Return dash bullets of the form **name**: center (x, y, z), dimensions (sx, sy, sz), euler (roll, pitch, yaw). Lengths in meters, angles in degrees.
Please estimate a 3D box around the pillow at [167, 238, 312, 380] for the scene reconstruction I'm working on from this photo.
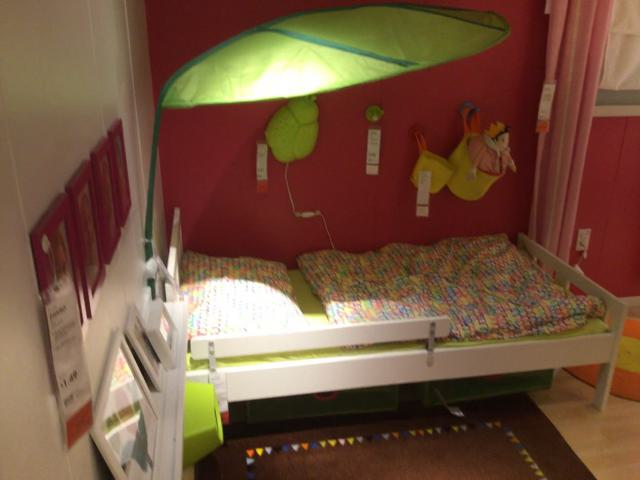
- **pillow**: center (-0.290, 0.220, 2.200), dimensions (0.440, 0.180, 0.750), euler (-6, 20, -4)
